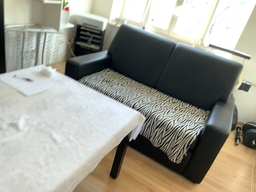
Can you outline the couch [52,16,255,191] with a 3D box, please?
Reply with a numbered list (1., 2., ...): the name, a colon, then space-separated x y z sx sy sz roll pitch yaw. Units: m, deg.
1. couch: 0.220 -0.100 2.160 1.610 0.910 0.940 26 28 18
